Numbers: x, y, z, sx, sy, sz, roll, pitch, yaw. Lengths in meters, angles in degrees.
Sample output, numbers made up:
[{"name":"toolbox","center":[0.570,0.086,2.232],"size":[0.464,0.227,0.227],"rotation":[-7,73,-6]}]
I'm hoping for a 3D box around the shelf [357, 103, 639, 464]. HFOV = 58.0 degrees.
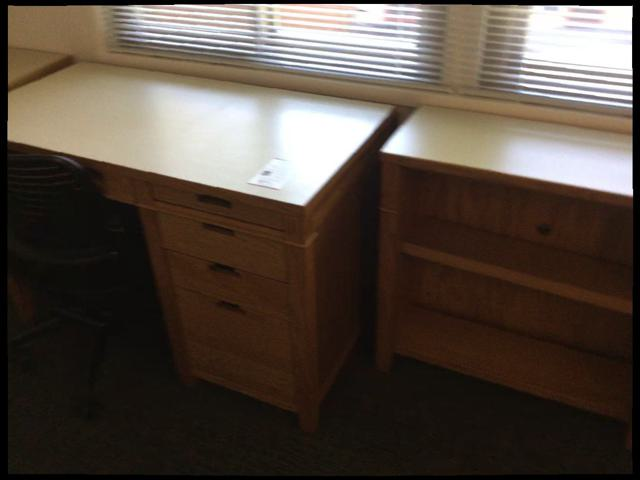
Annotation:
[{"name":"shelf","center":[0.559,0.110,1.570],"size":[0.849,0.761,0.320],"rotation":[14,39,21]}]
